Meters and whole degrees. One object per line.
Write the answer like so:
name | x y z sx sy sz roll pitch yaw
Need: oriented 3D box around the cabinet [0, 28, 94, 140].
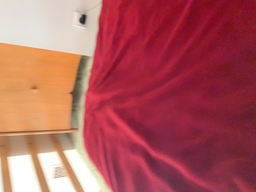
cabinet | -0.760 -0.100 1.770 0.440 0.700 0.750 34 116 51
